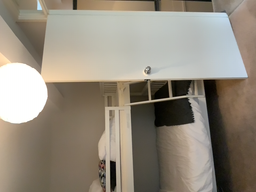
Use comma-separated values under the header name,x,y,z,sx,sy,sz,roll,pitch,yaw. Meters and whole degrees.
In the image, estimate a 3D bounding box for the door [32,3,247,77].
name,x,y,z,sx,sy,sz,roll,pitch,yaw
door,0.140,-0.580,2.160,0.030,2.010,0.880,103,165,-63

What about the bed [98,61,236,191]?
name,x,y,z,sx,sy,sz,roll,pitch,yaw
bed,0.340,0.810,3.030,1.440,1.490,2.160,114,155,-74

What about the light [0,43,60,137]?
name,x,y,z,sx,sy,sz,roll,pitch,yaw
light,-0.850,-0.020,1.590,0.470,0.480,0.480,76,-173,-63
